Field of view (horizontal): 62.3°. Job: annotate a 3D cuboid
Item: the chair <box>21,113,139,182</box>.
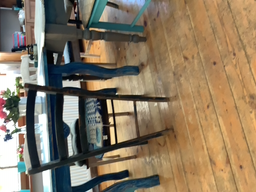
[{"bbox_3d":[-0.440,0.450,1.910,0.430,0.910,0.420,-40,57,59],"label":"chair"}]
